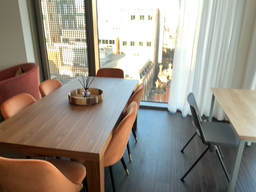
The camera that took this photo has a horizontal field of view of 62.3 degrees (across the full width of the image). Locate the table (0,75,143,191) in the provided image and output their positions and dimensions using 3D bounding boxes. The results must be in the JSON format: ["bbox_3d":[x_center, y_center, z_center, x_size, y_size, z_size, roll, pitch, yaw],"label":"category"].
[{"bbox_3d":[-0.410,0.390,2.370,0.870,0.780,1.810,4,21,11],"label":"table"}]

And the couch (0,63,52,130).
[{"bbox_3d":[-1.790,-0.050,3.580,0.680,0.810,0.820,-12,23,-30],"label":"couch"}]
